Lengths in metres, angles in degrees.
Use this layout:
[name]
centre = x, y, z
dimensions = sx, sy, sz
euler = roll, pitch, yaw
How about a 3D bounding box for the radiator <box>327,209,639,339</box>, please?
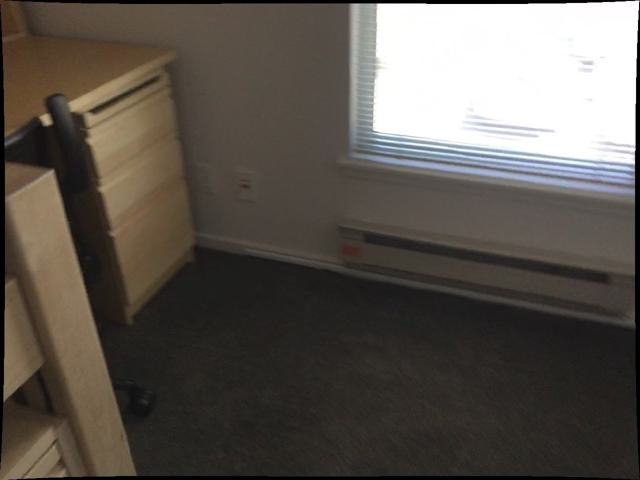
[radiator]
centre = 0.499, 0.100, 1.880
dimensions = 0.969, 0.240, 0.100
euler = 10, 35, 15
